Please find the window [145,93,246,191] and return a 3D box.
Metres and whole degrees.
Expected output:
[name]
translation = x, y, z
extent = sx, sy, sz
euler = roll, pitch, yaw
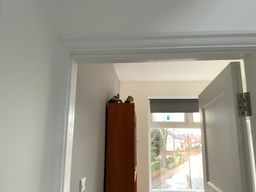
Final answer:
[window]
translation = 0.990, 0.780, 3.360
extent = 1.410, 1.590, 0.310
euler = -1, -12, 6
